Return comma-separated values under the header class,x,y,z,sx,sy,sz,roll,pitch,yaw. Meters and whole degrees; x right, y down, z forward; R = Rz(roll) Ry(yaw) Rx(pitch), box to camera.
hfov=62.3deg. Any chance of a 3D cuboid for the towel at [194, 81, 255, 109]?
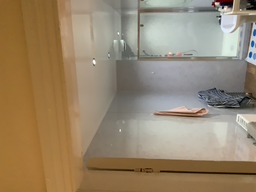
class,x,y,z,sx,sy,sz,roll,pitch,yaw
towel,1.660,-0.040,3.490,0.830,0.910,0.190,-78,-11,-71
